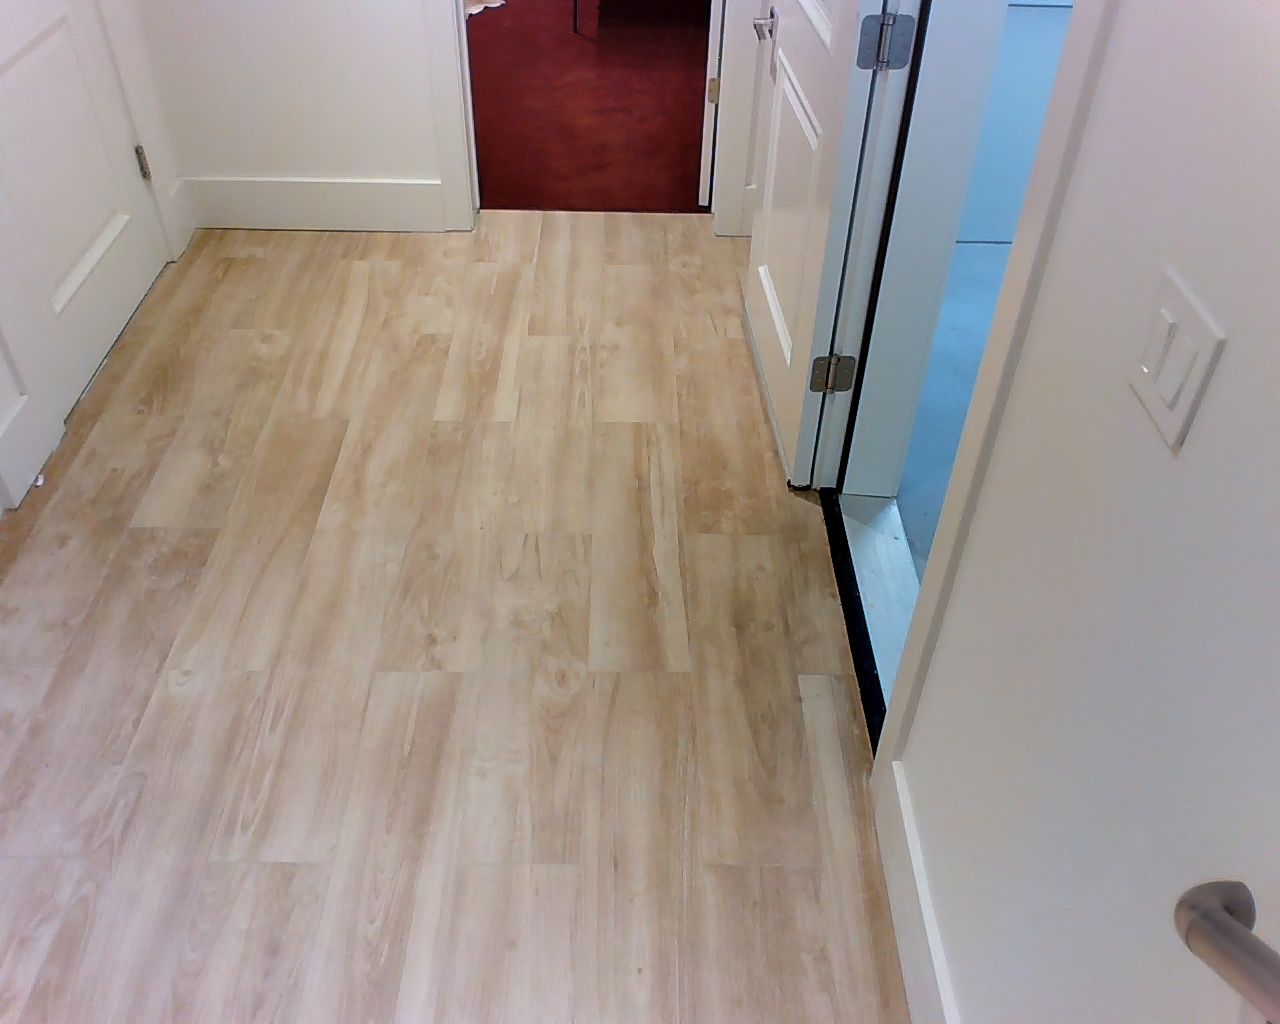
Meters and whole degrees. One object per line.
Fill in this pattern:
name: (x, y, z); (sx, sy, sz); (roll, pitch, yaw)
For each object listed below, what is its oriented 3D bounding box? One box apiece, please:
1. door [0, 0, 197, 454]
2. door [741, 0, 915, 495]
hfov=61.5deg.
door: (-1.520, -1.350, 2.520); (0.060, 2.220, 1.100); (0, 41, -1)
door: (0.420, -1.190, 2.380); (0.090, 2.180, 0.990); (-2, 41, -3)
